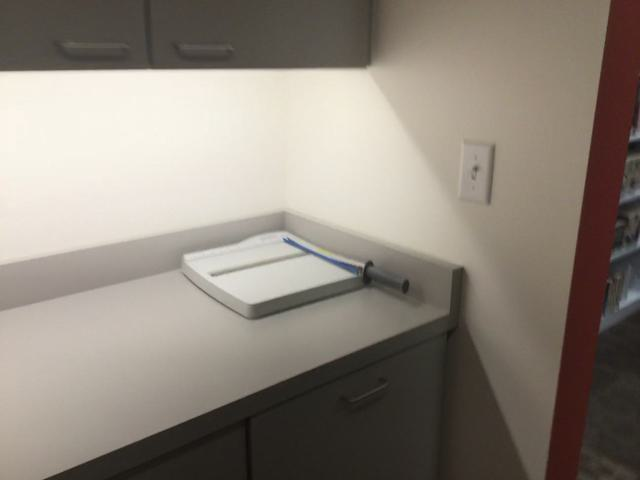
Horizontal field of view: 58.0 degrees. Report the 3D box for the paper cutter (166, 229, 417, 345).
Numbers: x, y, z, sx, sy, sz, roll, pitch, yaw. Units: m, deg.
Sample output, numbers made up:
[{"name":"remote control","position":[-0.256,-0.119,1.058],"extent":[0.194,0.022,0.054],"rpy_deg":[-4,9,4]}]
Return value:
[{"name":"paper cutter","position":[-0.080,0.080,1.330],"extent":[0.350,0.060,0.490],"rpy_deg":[-14,20,-37]}]
